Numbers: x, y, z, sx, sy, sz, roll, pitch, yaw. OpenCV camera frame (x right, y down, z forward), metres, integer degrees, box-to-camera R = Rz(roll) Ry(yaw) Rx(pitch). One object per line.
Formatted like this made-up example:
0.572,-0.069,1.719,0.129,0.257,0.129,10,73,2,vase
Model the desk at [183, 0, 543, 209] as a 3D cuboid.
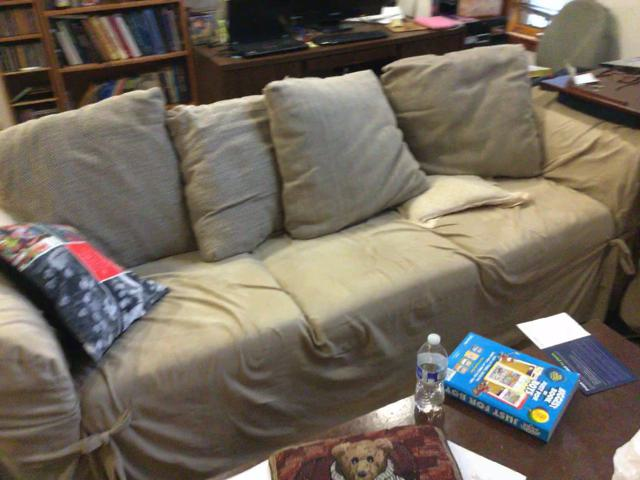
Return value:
0.280,-0.890,3.320,1.870,0.810,0.650,-17,32,-22,desk
